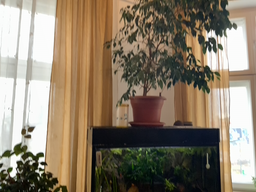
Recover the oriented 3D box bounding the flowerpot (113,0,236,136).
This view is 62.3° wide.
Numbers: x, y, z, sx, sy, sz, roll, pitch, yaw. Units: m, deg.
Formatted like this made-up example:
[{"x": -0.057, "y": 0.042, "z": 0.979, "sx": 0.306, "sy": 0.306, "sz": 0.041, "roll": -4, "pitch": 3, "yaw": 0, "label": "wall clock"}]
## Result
[{"x": 0.320, "y": -0.360, "z": 1.840, "sx": 0.620, "sy": 1.330, "sz": 0.830, "roll": 4, "pitch": -8, "yaw": -24, "label": "flowerpot"}]
